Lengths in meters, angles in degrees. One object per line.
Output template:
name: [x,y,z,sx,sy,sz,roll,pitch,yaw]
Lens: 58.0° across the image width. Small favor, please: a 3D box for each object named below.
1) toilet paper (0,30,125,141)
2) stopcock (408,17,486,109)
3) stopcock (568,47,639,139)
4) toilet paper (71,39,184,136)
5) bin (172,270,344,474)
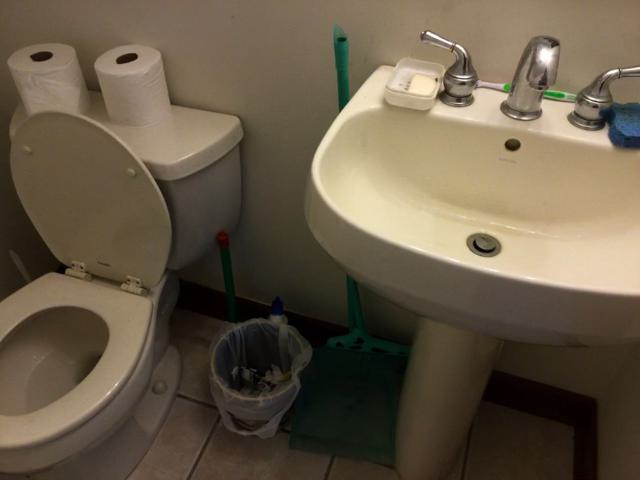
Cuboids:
toilet paper: [-0.520,-0.310,1.140,0.160,0.120,0.190,13,43,14]
stopcock: [0.200,-0.280,0.910,0.090,0.090,0.110,13,43,14]
stopcock: [0.440,-0.220,0.860,0.110,0.080,0.110,13,43,14]
toilet paper: [-0.370,-0.300,1.130,0.140,0.120,0.130,13,43,14]
bin: [-0.130,0.310,1.410,0.280,0.260,0.340,13,43,14]
